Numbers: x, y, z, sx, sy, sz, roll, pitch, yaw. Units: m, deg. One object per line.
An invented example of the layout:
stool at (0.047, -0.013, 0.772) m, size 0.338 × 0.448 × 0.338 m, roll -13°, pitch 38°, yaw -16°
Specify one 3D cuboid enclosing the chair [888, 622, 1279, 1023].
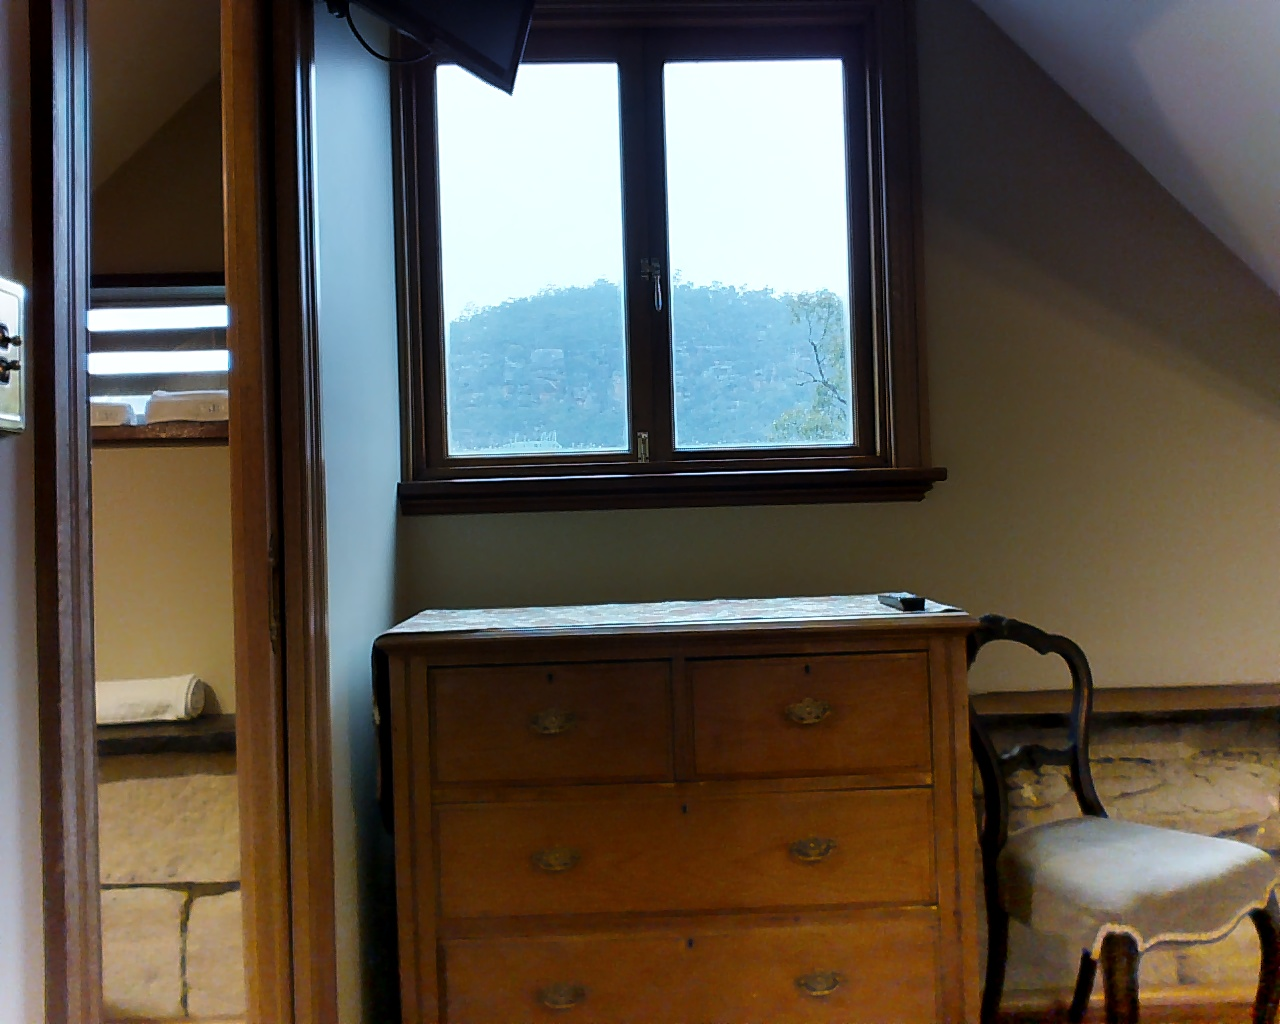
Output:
chair at (0.870, 0.680, 2.100) m, size 0.480 × 0.860 × 0.550 m, roll -1°, pitch -1°, yaw -30°
